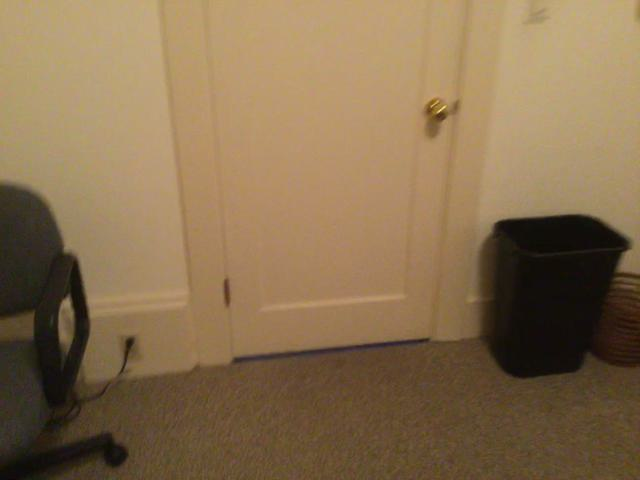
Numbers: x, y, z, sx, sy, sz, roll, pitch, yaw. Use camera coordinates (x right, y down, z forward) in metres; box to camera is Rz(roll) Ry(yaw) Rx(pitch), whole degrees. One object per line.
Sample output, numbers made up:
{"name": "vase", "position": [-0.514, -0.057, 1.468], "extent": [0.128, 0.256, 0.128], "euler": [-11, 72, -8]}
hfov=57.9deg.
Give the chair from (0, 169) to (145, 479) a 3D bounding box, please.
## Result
{"name": "chair", "position": [-0.810, 0.360, 1.320], "extent": [0.610, 0.830, 0.660], "euler": [-7, 24, -9]}
